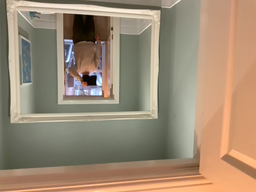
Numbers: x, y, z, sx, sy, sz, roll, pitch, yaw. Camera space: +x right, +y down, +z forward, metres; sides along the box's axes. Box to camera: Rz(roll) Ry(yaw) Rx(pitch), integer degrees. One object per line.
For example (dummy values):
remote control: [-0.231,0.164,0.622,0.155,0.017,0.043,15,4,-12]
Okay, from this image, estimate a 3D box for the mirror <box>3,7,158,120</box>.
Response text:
mirror: [-0.390,-0.280,2.030,1.390,0.970,0.060,-1,-174,-13]
